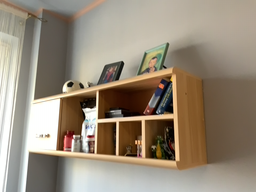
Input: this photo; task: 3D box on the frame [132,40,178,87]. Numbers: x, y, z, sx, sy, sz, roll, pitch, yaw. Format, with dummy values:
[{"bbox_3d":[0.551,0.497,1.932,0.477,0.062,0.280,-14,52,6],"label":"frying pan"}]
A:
[{"bbox_3d":[0.140,-0.160,1.110,0.200,0.180,0.130,-8,-14,41],"label":"frame"}]
